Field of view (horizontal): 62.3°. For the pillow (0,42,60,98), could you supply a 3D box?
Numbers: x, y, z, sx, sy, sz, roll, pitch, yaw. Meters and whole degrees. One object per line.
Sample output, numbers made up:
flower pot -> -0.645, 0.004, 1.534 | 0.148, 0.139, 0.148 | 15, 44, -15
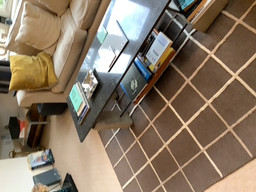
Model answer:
pillow -> -1.090, -0.310, 2.380 | 0.490, 0.470, 0.250 | 58, 151, 25

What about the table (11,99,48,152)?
table -> -1.750, 0.500, 3.730 | 0.600, 0.360, 0.670 | 46, 122, 41

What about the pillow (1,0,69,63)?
pillow -> -1.010, -0.730, 2.400 | 0.220, 0.500, 0.570 | 53, 164, 24

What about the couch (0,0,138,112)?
couch -> -0.670, -0.940, 2.220 | 2.200, 0.810, 1.040 | -54, 50, 33
